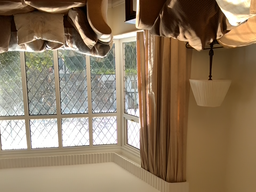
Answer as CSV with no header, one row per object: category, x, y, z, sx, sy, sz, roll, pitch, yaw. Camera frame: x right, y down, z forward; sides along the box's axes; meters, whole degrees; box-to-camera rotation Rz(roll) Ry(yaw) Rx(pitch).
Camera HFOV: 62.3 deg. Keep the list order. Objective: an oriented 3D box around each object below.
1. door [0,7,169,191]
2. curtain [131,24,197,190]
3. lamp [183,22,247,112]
door,-1.090,0.130,2.810,2.930,2.140,1.300,-2,-172,-8
curtain,0.420,0.130,2.590,0.700,1.810,0.290,4,-171,33
lamp,0.890,-0.300,2.250,0.470,0.860,0.390,-2,-173,-4
